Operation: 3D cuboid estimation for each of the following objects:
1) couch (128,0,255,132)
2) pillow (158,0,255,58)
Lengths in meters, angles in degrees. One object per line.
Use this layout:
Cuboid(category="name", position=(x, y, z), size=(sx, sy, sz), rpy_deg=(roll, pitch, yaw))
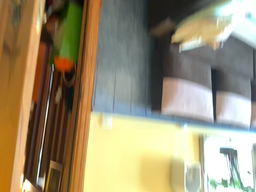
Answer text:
Cuboid(category="couch", position=(1.280, -0.380, 1.930), size=(2.270, 1.290, 1.110), rpy_deg=(11, 166, -34))
Cuboid(category="pillow", position=(0.650, -0.620, 1.460), size=(0.430, 0.400, 0.810), rpy_deg=(11, 166, -34))
